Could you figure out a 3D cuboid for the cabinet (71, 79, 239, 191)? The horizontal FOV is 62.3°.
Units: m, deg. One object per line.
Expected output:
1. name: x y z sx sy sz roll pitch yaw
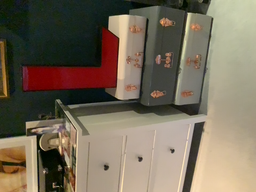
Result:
1. cabinet: 0.140 0.460 1.520 0.530 0.950 1.040 31 120 55
